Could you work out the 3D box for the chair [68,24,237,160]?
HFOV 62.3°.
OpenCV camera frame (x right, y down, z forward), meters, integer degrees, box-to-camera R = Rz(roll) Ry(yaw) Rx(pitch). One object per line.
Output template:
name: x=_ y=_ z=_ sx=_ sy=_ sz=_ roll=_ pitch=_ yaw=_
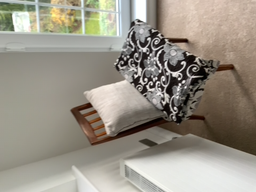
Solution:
chair: x=0.140 y=-0.070 z=1.370 sx=0.450 sy=0.860 sz=0.570 roll=50 pitch=134 yaw=36
